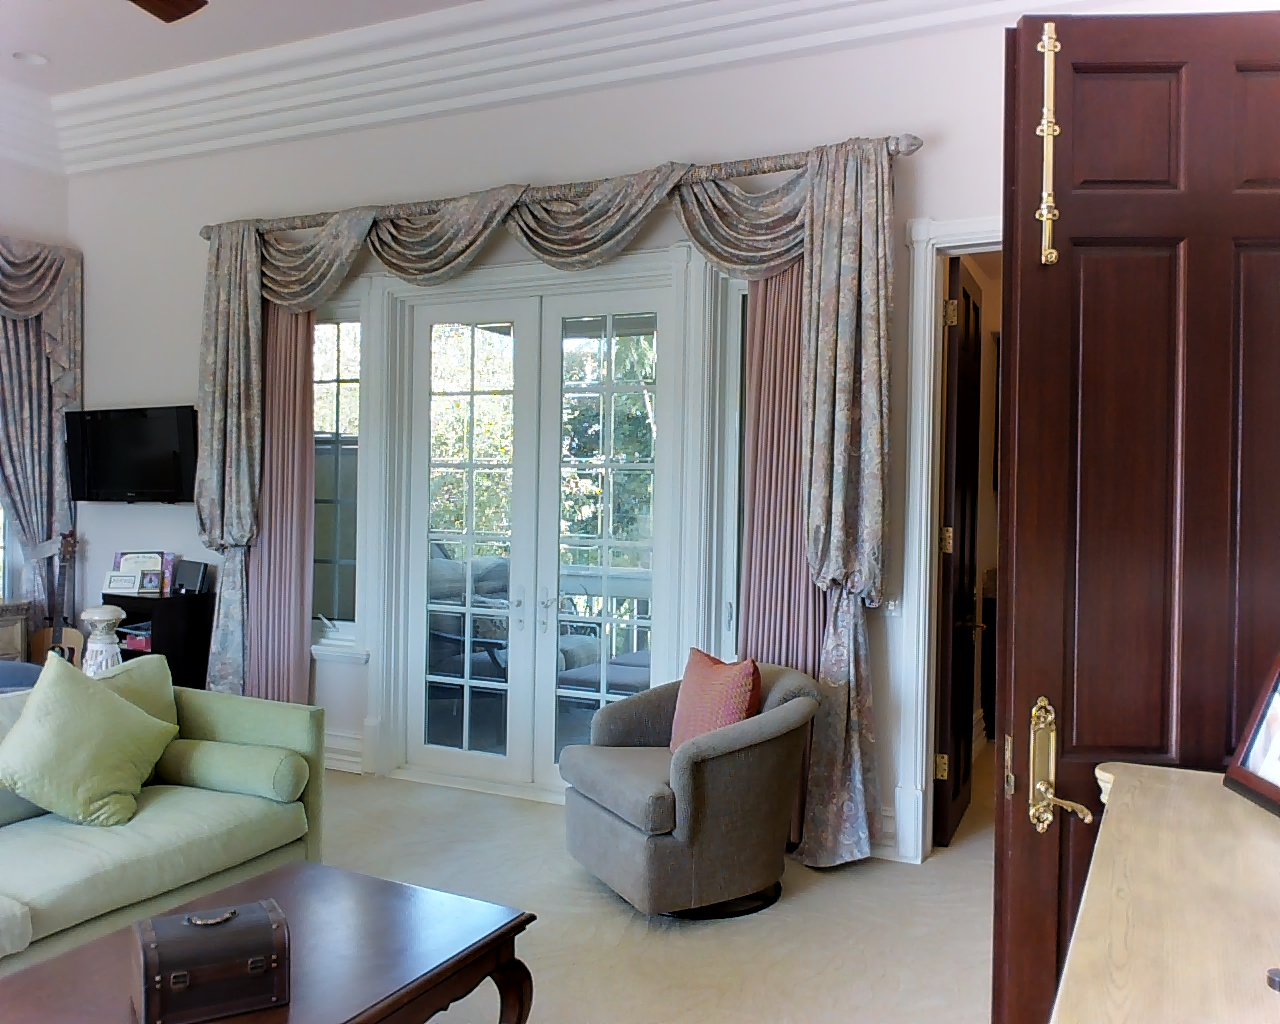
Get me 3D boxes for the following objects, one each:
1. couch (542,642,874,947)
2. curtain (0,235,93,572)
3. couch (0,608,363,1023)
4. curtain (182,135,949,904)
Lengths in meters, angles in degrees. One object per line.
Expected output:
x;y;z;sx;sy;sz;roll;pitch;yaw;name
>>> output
0.220;0.950;3.900;0.880;0.820;0.830;2;1;-26;couch
-3.480;-0.580;5.900;0.180;1.810;0.830;3;1;27;curtain
-1.940;0.860;2.860;1.120;0.960;2.190;3;1;27;couch
-0.590;-0.040;4.920;3.750;2.810;0.370;3;1;27;curtain
